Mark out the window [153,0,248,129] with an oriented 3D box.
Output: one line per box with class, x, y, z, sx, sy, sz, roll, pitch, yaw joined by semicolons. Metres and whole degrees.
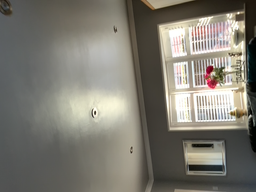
window;1.310;-0.490;3.830;0.470;1.400;2.110;-40;-56;-68
